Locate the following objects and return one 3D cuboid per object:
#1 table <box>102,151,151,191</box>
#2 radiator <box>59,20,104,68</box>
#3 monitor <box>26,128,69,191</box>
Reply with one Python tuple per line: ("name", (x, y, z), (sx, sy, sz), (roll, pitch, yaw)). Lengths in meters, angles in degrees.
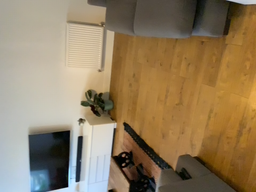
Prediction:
("table", (-0.090, 1.570, 3.070), (0.650, 0.360, 1.300), (36, 123, 57))
("radiator", (-0.750, -0.820, 3.440), (0.120, 0.680, 0.710), (33, 121, 58))
("monitor", (-1.440, 1.170, 3.820), (0.040, 0.690, 1.220), (37, 124, 57))
